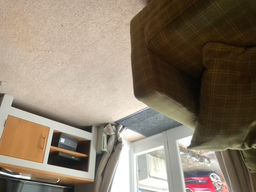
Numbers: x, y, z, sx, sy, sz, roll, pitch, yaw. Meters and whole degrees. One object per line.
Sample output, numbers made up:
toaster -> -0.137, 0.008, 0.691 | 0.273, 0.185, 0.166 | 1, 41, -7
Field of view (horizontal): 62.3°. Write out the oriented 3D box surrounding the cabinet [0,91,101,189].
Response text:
cabinet -> -0.950, 0.550, 2.240 | 1.090, 0.600, 0.690 | 28, 138, -36
